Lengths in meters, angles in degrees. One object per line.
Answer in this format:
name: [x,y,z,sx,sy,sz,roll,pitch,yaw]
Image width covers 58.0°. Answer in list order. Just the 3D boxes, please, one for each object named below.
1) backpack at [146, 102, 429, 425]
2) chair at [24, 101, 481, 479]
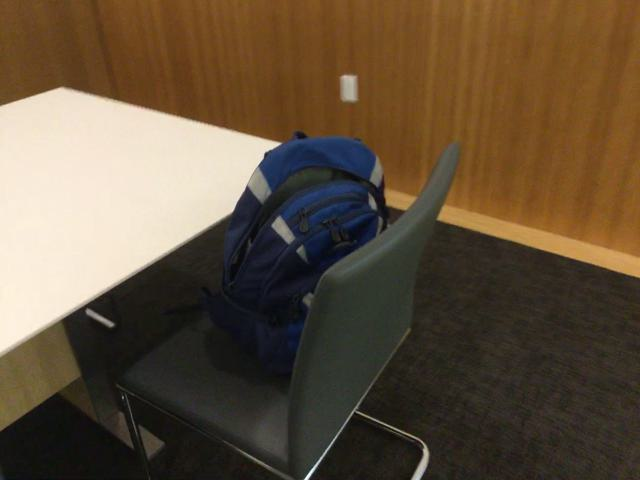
backpack: [-0.050,0.020,1.130,0.380,0.440,0.320,20,37,30]
chair: [-0.100,0.220,1.200,0.600,0.800,0.500,20,37,30]
